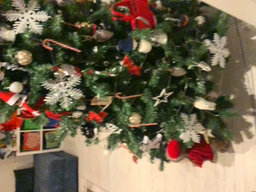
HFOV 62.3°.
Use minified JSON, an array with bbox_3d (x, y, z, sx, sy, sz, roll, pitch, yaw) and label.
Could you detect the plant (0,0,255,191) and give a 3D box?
[{"bbox_3d":[-0.100,-0.090,1.140,1.110,1.690,1.110,-3,85,54],"label":"plant"}]
